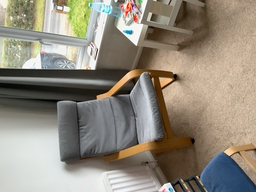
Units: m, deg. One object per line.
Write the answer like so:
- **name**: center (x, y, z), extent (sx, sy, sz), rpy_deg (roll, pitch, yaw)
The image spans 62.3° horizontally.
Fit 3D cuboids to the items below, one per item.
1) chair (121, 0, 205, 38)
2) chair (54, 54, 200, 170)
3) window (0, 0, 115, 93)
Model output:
- **chair**: center (0.280, -0.740, 1.770), extent (0.340, 0.520, 0.310), rpy_deg (57, 136, 44)
- **chair**: center (-0.080, 0.190, 1.930), extent (0.820, 0.950, 0.710), rpy_deg (-39, 57, 54)
- **window**: center (-0.900, -0.970, 1.920), extent (0.120, 1.640, 2.180), rpy_deg (56, 136, 45)
